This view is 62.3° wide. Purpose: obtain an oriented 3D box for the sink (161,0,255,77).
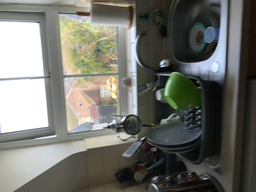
[{"bbox_3d":[0.360,-0.330,1.060,0.530,0.160,0.430,-153,61,-70],"label":"sink"}]
